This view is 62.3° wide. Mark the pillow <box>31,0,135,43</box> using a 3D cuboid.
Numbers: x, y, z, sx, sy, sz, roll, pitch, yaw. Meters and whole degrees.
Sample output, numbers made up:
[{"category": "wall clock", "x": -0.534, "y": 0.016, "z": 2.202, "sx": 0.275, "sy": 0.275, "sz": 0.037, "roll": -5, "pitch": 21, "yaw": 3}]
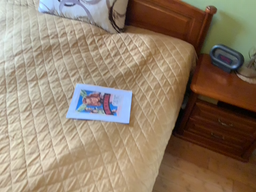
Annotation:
[{"category": "pillow", "x": -0.320, "y": -0.670, "z": 1.480, "sx": 0.700, "sy": 0.340, "sz": 0.230, "roll": 20, "pitch": 47, "yaw": 13}]
